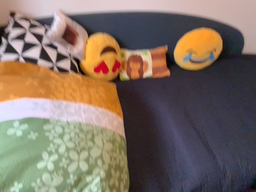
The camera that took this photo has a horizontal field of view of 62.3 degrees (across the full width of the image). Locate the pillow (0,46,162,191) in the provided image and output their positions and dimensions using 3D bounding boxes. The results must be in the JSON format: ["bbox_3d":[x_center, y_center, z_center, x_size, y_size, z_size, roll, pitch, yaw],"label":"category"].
[{"bbox_3d":[-0.290,0.120,0.860,0.610,0.300,0.680,-5,45,-13],"label":"pillow"}]

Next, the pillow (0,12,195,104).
[{"bbox_3d":[-0.150,-0.250,1.280,1.000,0.380,0.250,-9,46,-16],"label":"pillow"}]
